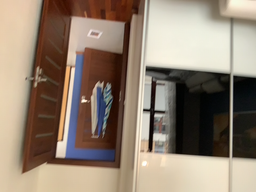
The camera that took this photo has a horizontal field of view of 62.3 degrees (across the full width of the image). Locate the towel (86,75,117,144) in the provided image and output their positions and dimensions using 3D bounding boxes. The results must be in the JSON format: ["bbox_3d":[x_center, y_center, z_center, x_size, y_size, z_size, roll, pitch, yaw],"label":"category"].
[{"bbox_3d":[-0.530,0.270,4.290,0.480,1.320,0.210,6,172,-13],"label":"towel"}]
